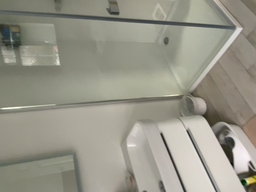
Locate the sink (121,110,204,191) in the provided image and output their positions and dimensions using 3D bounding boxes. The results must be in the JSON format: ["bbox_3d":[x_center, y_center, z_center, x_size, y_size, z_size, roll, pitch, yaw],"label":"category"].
[{"bbox_3d":[0.210,0.560,1.330,0.490,0.200,0.790,112,146,-48],"label":"sink"}]

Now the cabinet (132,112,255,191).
[{"bbox_3d":[0.400,0.560,1.400,0.480,0.440,0.720,112,146,-48],"label":"cabinet"}]
